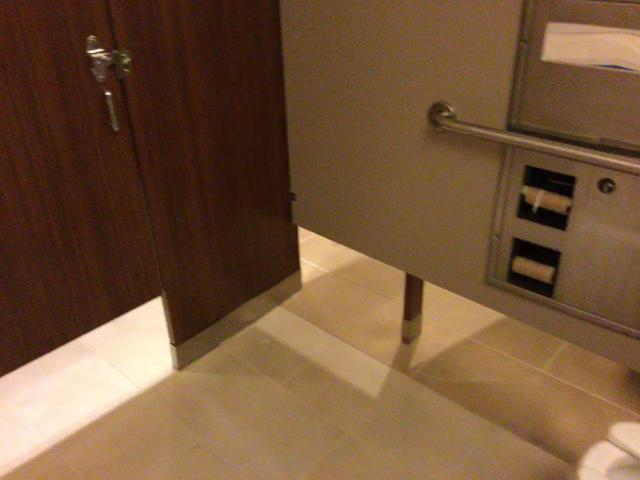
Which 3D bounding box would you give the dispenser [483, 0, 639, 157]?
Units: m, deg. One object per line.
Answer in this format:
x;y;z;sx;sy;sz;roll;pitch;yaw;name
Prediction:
0.580;-0.360;1.190;0.490;0.340;0.030;22;37;37;dispenser

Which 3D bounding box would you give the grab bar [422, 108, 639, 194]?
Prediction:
0.750;-0.110;1.110;1.250;0.070;0.090;22;37;37;grab bar

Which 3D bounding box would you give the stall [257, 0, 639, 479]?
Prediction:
0.640;-0.130;1.390;1.960;1.400;0.260;22;37;37;stall

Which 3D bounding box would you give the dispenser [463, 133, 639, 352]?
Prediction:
0.620;0.010;1.380;0.560;0.430;0.050;22;37;37;dispenser
